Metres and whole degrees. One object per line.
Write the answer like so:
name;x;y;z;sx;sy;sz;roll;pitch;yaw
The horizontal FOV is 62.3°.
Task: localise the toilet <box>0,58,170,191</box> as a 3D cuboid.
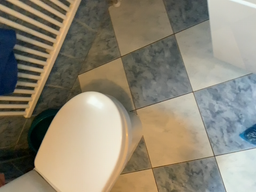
toilet;-0.220;0.290;0.920;0.360;0.750;0.670;30;99;23
